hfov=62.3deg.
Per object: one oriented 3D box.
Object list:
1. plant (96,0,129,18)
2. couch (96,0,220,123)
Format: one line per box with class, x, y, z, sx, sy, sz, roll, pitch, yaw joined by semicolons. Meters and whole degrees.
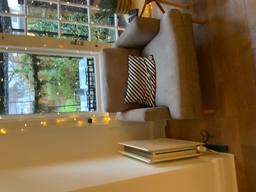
plant;-0.170;-1.010;2.330;0.150;0.320;0.220;172;96;-65
couch;0.230;-0.250;2.200;0.890;0.830;0.980;163;104;-64
